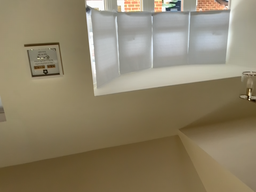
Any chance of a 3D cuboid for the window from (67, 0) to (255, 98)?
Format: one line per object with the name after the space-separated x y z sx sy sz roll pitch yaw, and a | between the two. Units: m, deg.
0.540 -0.950 2.240 2.230 1.410 1.060 -8 -162 -16 | window
